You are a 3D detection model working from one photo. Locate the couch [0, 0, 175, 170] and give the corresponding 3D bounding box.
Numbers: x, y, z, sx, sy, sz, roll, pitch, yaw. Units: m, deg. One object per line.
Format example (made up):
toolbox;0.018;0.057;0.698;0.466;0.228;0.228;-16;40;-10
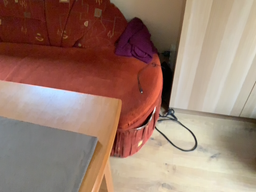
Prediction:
couch;-0.970;-0.350;1.520;2.460;0.940;0.880;8;44;9
